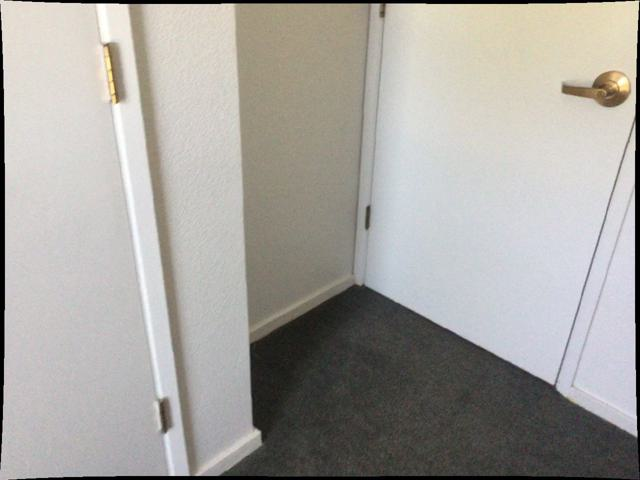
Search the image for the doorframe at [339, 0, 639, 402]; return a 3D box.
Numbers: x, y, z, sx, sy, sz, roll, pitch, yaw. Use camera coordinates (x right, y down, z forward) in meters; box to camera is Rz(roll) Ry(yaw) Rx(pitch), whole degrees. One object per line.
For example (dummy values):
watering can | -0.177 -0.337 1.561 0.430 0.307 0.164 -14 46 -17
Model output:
doorframe | 0.489 -0.571 1.580 0.959 2.023 0.080 26 37 36
